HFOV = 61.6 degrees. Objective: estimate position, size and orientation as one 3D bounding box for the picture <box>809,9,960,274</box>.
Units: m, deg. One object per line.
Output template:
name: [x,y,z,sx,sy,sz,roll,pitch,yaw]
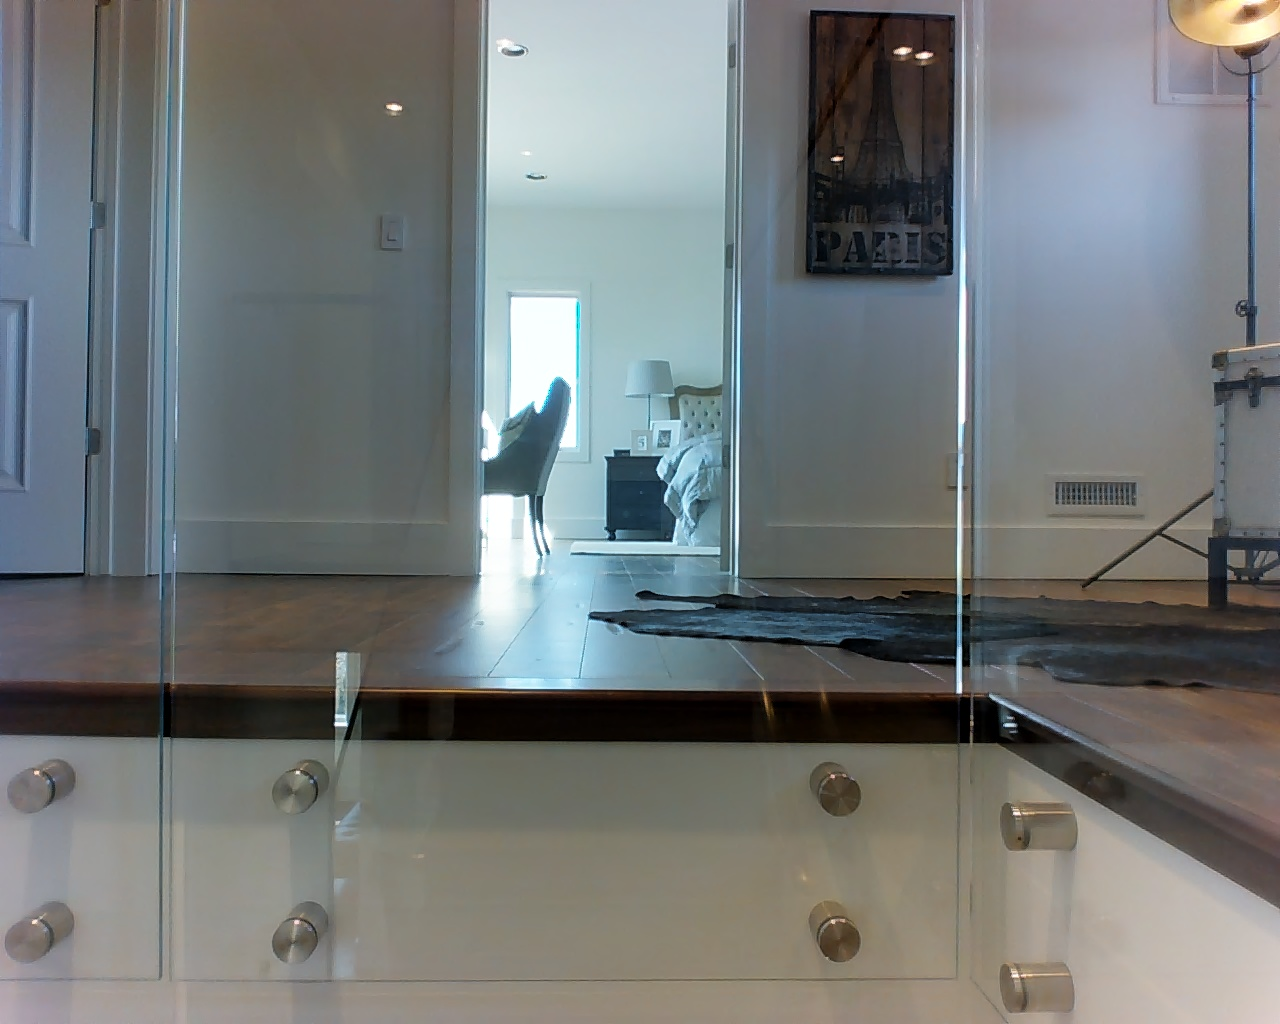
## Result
picture: [0.860,-1.300,3.780,0.520,0.910,0.040,1,0,-2]
